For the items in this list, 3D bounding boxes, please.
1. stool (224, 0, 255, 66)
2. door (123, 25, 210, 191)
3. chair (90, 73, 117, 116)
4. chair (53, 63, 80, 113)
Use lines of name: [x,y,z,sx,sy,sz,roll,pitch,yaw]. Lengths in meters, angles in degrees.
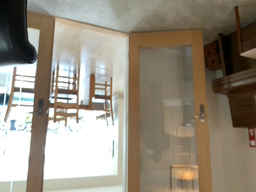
stool: [1.240,-0.620,1.860,0.400,0.510,0.570,5,169,-22]
door: [0.400,0.190,2.340,0.860,2.010,0.160,0,170,4]
chair: [-0.520,-0.020,4.470,0.520,0.830,0.400,2,170,-8]
chair: [-1.130,-0.120,3.990,0.400,0.830,0.520,3,170,-11]
